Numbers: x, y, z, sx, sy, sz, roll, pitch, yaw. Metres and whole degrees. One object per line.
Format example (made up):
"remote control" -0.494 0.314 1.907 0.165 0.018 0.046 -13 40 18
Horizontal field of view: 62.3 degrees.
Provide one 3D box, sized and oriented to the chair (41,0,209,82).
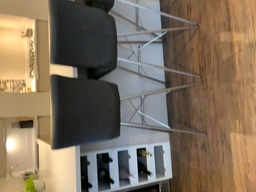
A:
"chair" -0.010 -0.330 1.500 0.500 1.070 0.390 -6 85 61
